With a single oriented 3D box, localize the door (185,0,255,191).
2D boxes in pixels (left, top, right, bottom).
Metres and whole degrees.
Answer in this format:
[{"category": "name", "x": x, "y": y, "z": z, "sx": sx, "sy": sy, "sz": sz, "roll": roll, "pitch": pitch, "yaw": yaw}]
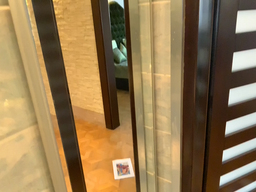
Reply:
[{"category": "door", "x": 0.650, "y": 0.160, "z": 1.110, "sx": 0.740, "sy": 1.950, "sz": 0.110, "roll": -12, "pitch": 22, "yaw": -20}]
